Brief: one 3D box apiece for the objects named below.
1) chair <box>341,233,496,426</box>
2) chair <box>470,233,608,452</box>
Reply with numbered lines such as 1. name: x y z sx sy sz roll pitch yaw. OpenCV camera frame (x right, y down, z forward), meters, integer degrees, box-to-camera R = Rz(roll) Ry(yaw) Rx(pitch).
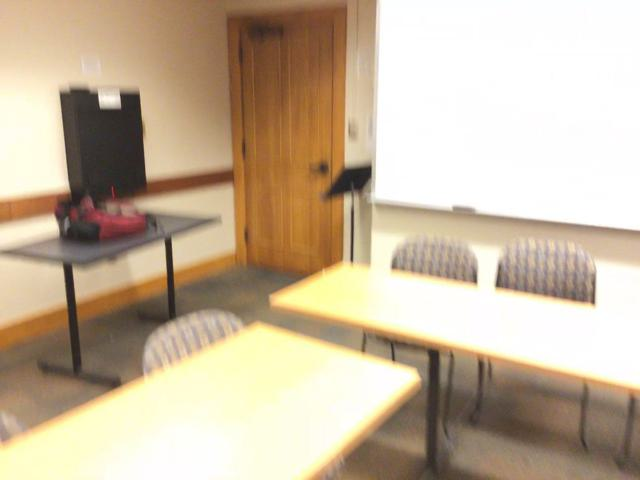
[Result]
1. chair: 0.470 0.370 2.690 0.510 0.670 0.520 7 17 35
2. chair: 0.980 0.390 2.550 0.470 0.680 0.700 4 15 27
